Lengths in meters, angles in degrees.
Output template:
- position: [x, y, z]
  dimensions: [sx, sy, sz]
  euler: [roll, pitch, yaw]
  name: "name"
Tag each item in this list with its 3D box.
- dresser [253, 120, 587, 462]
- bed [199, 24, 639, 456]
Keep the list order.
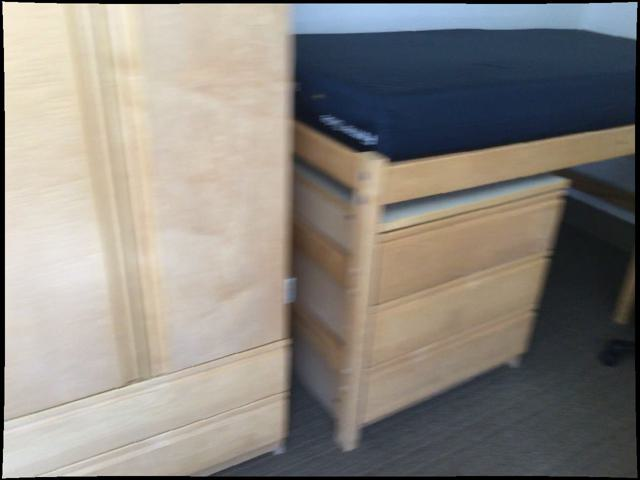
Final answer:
- position: [0.299, 0.100, 2.050]
  dimensions: [0.868, 0.832, 0.640]
  euler: [-13, 29, -28]
  name: "dresser"
- position: [0.728, -0.251, 2.430]
  dimensions: [2.136, 1.102, 1.050]
  euler: [-13, 30, -28]
  name: "bed"
